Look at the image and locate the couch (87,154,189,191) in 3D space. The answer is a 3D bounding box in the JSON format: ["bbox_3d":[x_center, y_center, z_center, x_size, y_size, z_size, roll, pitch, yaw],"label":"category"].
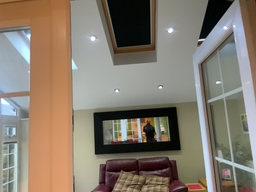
[{"bbox_3d":[0.200,1.730,4.060,1.690,0.980,1.030,-4,-9,4],"label":"couch"}]
